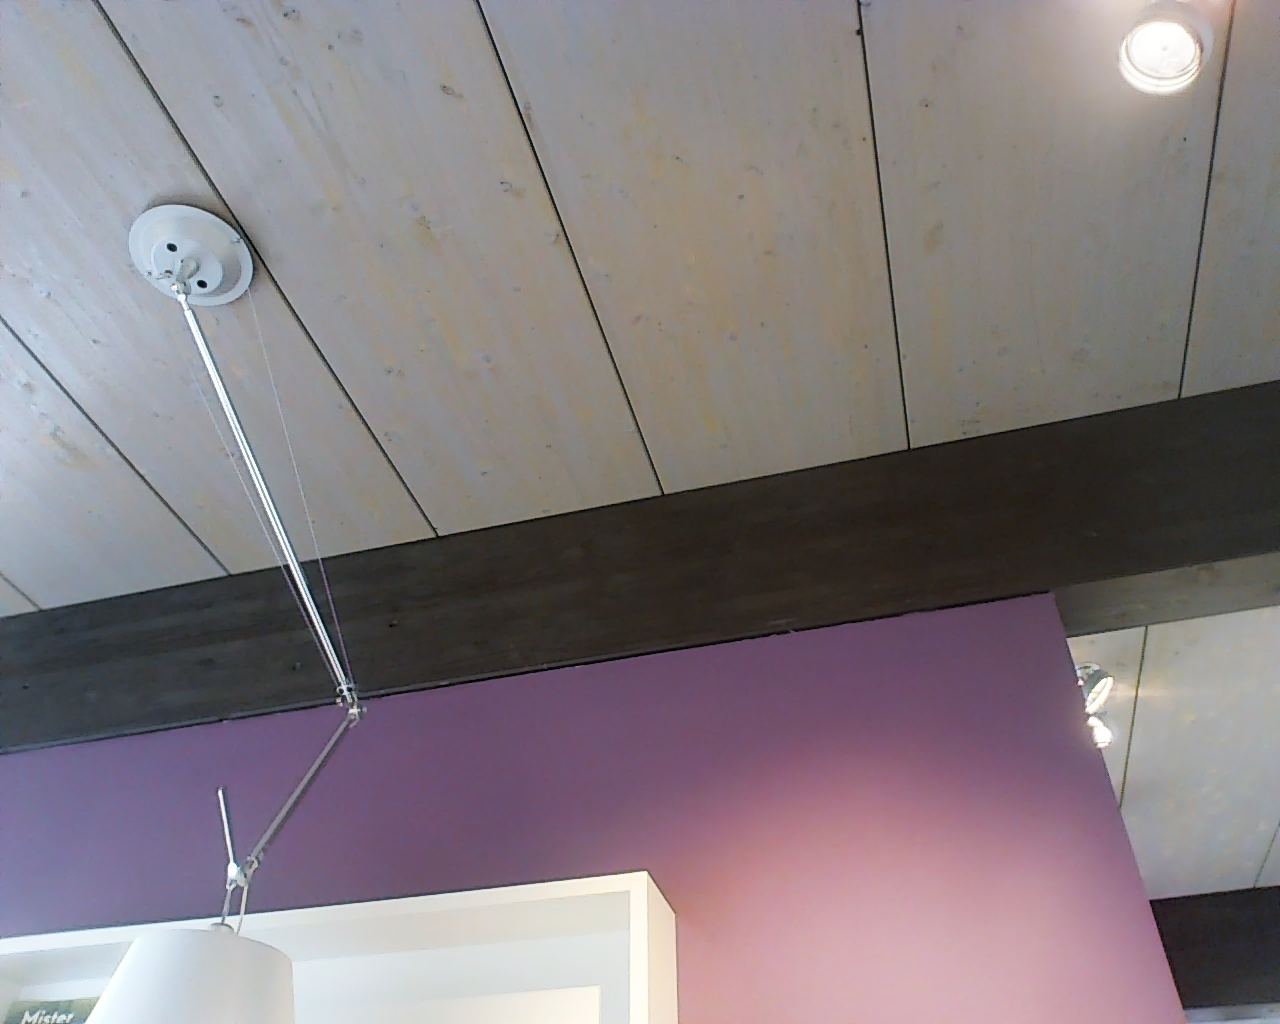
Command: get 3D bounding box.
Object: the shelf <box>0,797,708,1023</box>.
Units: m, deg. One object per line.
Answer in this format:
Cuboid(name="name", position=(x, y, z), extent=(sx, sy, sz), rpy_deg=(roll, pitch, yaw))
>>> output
Cuboid(name="shelf", position=(-0.620, 1.010, 1.810), extent=(1.459, 0.840, 0.240), rpy_deg=(-10, -42, 12))
